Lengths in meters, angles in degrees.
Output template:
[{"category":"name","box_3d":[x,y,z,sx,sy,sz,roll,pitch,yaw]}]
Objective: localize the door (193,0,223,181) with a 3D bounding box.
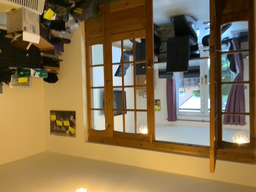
[{"category":"door","box_3d":[0.820,-0.380,2.110,0.160,2.070,0.950,-1,-178,27]}]

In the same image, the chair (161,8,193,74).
[{"category":"chair","box_3d":[0.870,-0.950,3.820,0.420,1.040,0.530,-1,-178,-1]}]

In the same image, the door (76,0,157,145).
[{"category":"door","box_3d":[-0.190,-0.410,3.090,1.140,2.060,0.290,0,-178,30]}]
